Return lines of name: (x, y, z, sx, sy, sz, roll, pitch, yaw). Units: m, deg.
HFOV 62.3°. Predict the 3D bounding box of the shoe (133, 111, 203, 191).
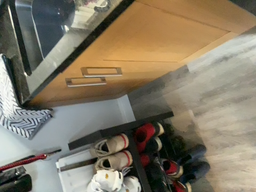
shoe: (0.290, 0.500, 1.320, 0.150, 0.250, 0.770, -27, 77, 43)
